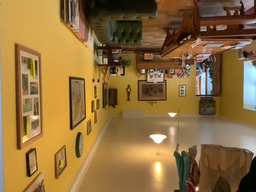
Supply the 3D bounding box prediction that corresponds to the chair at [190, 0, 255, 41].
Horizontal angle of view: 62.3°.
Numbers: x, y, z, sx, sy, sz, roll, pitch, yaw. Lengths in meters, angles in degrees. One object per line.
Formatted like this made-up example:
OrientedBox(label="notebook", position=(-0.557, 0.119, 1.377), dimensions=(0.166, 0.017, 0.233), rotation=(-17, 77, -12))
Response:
OrientedBox(label="chair", position=(1.550, -1.340, 3.450), dimensions=(0.970, 0.730, 0.480), rotation=(0, -177, 10))
